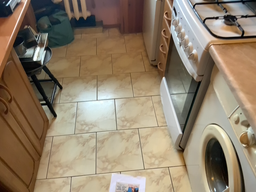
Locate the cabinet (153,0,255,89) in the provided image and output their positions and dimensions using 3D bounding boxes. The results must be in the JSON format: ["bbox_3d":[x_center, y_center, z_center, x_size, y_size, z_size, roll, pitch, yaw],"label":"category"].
[{"bbox_3d":[0.520,-0.460,1.580,0.570,0.840,0.260,-4,48,-3],"label":"cabinet"}]
